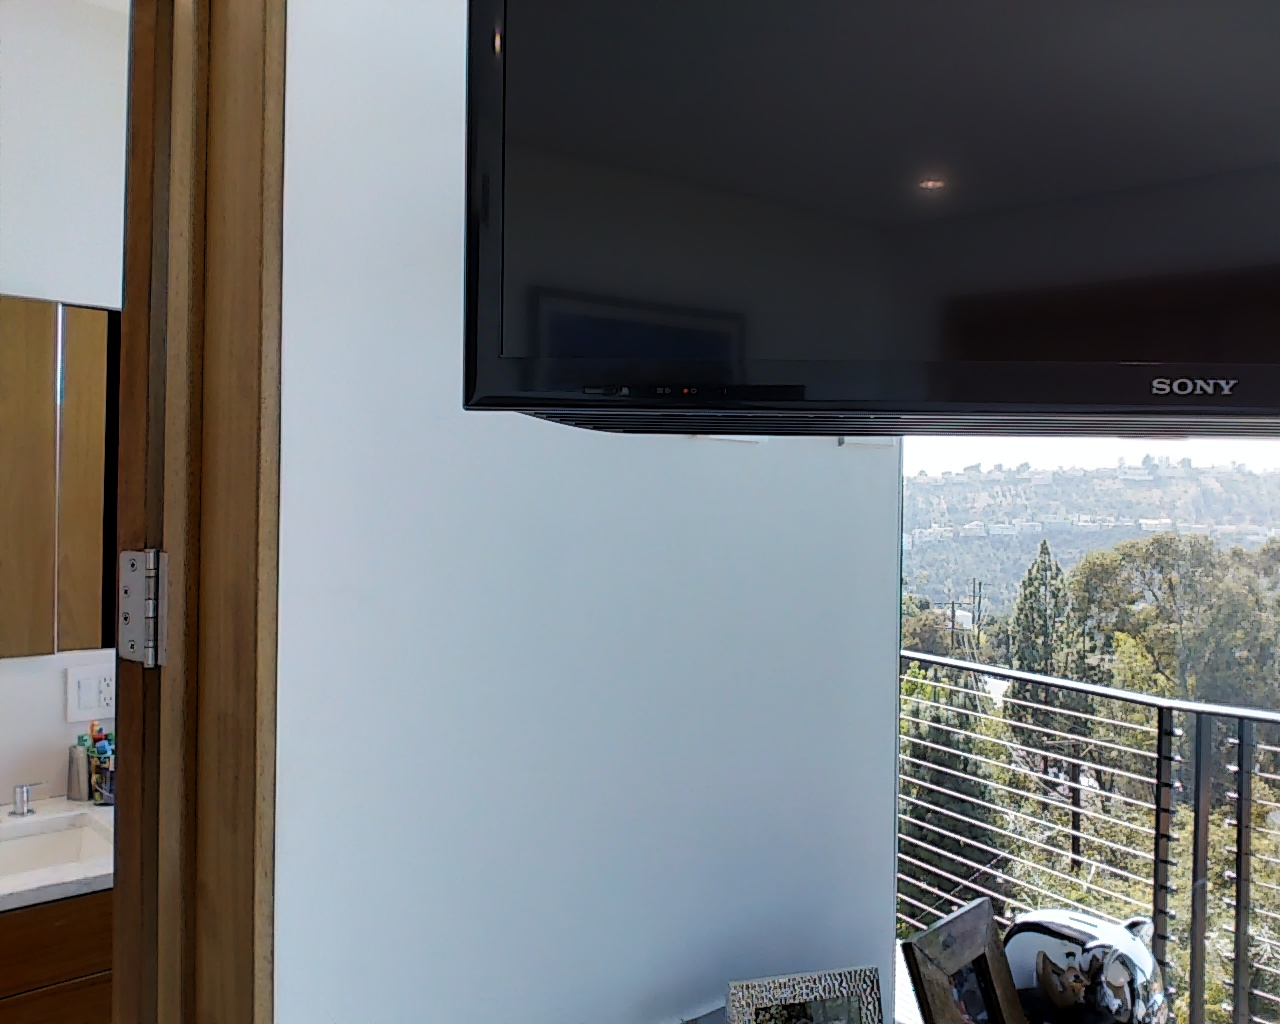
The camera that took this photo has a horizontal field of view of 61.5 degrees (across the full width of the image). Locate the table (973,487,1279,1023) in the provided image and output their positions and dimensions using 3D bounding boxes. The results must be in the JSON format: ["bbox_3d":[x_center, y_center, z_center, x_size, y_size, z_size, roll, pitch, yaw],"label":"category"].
[{"bbox_3d":[1.260,0.520,2.090,0.580,1.120,0.990,1,0,-43],"label":"table"}]
